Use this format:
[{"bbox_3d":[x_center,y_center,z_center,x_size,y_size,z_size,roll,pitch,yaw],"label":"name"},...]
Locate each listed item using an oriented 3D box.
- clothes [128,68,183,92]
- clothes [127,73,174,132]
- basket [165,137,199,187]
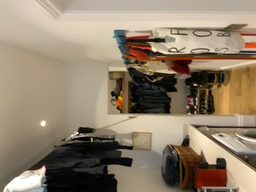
[{"bbox_3d":[0.480,-0.330,4.230,1.190,0.940,0.390,-77,-13,-85],"label":"clothes"},{"bbox_3d":[0.490,0.140,4.780,0.270,1.020,1.290,-77,-13,-85],"label":"clothes"},{"bbox_3d":[0.660,0.800,2.690,0.710,0.250,0.370,-75,-15,-85],"label":"basket"}]
